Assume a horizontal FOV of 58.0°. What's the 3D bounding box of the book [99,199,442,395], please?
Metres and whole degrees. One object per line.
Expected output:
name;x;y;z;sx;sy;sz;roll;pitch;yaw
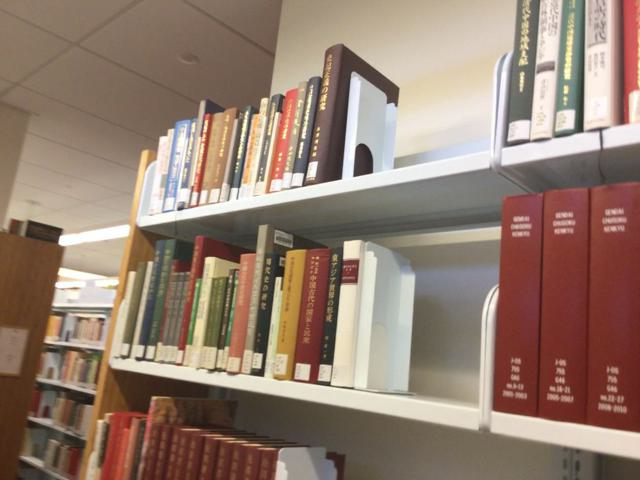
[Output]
book;-0.140;0.120;1.120;0.720;0.260;0.210;-6;-19;44

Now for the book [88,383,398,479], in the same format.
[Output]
book;-0.180;0.440;1.110;0.610;0.250;0.240;-6;-19;44
